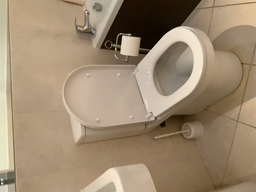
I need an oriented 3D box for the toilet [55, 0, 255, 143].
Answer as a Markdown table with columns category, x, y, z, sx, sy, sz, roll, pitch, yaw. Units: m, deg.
| category | x | y | z | sx | sy | sz | roll | pitch | yaw |
| --- | --- | --- | --- | --- | --- | --- | --- | --- | --- |
| toilet | 0.150 | -0.100 | 1.140 | 0.650 | 0.880 | 0.390 | -49 | 51 | 48 |
